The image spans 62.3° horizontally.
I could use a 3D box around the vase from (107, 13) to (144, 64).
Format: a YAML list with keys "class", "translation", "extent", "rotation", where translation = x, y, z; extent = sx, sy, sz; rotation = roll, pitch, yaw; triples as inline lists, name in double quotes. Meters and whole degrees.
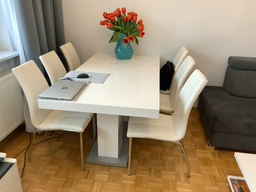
- class: "vase"
  translation: [-0.030, -0.750, 2.740]
  extent: [0.420, 0.580, 0.290]
  rotation: [5, 24, 6]
